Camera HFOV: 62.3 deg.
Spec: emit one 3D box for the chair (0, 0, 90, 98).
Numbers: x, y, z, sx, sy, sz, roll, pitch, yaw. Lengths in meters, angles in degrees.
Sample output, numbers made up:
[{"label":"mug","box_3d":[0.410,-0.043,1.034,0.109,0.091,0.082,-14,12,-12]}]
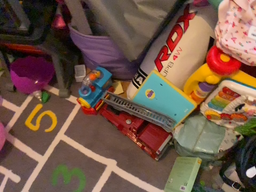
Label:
[{"label":"chair","box_3d":[-0.500,-0.350,0.920,0.470,0.740,0.400,5,65,4]}]
